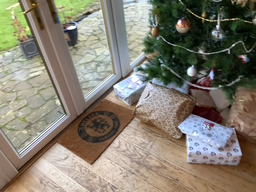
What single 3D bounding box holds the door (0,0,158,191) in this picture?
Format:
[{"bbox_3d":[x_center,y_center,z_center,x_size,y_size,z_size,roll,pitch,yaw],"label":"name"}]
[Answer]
[{"bbox_3d":[-0.650,-0.590,1.480,0.300,2.150,3.060,19,47,29],"label":"door"}]
